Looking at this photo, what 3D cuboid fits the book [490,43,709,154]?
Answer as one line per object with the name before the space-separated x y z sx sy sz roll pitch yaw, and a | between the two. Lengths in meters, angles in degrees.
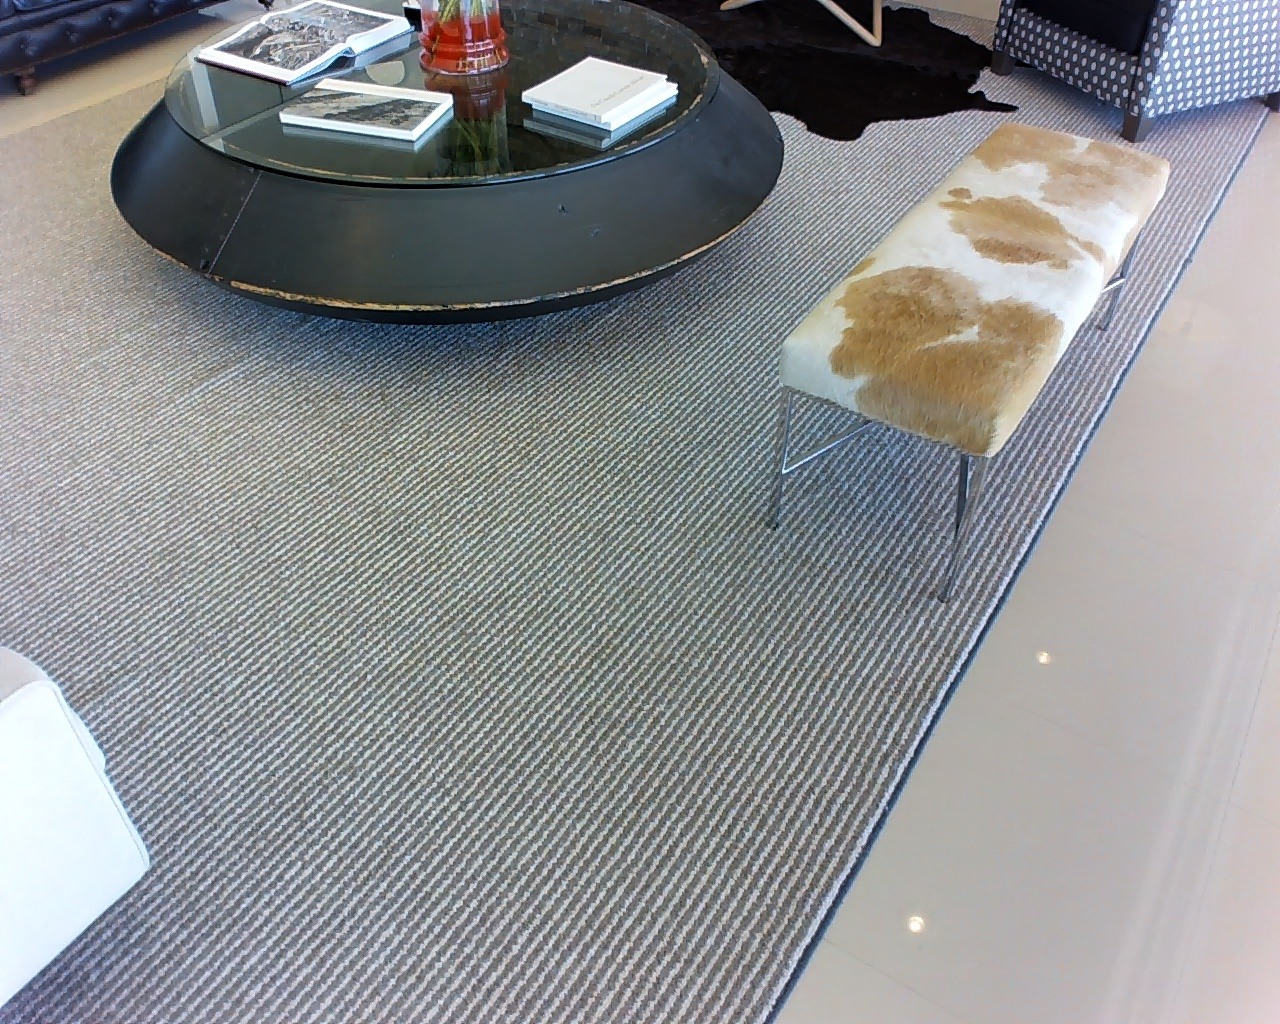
book | -0.100 -1.090 2.810 0.390 0.070 0.430 25 47 24
